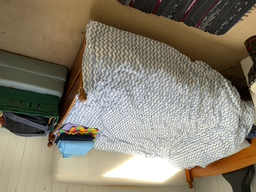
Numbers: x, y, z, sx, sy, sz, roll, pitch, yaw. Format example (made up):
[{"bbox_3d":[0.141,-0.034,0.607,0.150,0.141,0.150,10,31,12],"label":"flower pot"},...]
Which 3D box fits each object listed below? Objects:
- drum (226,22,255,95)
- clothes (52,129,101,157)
[{"bbox_3d":[1.060,-0.290,1.730,0.280,0.490,0.250,14,148,-25],"label":"drum"},{"bbox_3d":[-0.560,0.520,2.270,0.390,0.150,0.420,14,148,-26],"label":"clothes"}]
